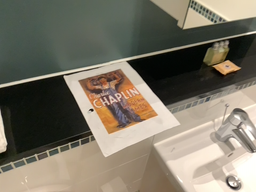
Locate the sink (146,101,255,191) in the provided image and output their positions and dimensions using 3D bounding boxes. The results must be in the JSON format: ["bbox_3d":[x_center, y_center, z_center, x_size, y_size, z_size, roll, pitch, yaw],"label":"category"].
[{"bbox_3d":[0.420,0.290,0.770,0.550,0.160,0.430,-16,48,-22],"label":"sink"}]
